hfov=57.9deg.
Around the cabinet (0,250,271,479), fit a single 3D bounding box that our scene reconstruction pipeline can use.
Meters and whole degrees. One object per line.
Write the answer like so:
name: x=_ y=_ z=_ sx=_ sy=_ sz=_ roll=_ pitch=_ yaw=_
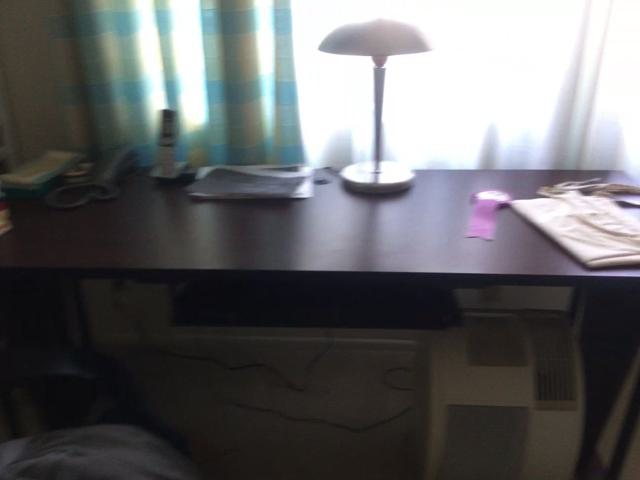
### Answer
cabinet: x=-0.530 y=0.450 z=1.220 sx=0.770 sy=0.640 sz=0.600 roll=2 pitch=25 yaw=2
